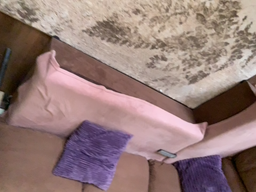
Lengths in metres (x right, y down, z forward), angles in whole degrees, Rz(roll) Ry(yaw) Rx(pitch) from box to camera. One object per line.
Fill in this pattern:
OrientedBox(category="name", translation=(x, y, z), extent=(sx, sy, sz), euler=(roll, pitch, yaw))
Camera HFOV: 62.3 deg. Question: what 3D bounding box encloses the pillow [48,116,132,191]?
OrientedBox(category="pillow", translation=(-0.240, 0.400, 1.410), extent=(0.410, 0.330, 0.310), euler=(25, 135, -35))
